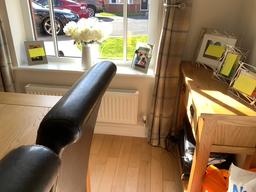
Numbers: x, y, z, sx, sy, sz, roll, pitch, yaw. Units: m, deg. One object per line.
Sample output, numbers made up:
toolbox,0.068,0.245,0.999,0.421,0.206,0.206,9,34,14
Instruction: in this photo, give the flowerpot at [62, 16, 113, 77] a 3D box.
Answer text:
flowerpot,-0.350,-0.450,1.860,0.300,0.440,0.340,-15,30,-30

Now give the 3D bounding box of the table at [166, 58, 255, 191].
table,0.530,0.230,1.480,0.400,0.760,0.830,3,26,4
